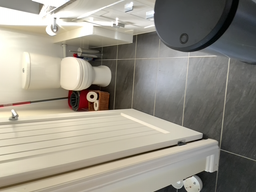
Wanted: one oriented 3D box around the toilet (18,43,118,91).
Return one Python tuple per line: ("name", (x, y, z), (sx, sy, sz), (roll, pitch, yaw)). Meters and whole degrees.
("toilet", (-0.650, -0.270, 2.260), (0.710, 0.790, 0.380), (7, 96, 50))
